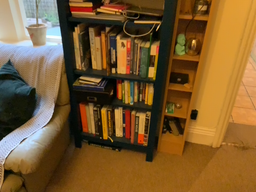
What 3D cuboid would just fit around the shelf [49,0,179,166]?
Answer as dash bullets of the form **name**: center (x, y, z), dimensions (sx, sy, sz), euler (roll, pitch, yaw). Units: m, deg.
- **shelf**: center (-0.070, -0.370, 1.370), dimensions (0.700, 1.890, 0.310), euler (7, 32, 8)
